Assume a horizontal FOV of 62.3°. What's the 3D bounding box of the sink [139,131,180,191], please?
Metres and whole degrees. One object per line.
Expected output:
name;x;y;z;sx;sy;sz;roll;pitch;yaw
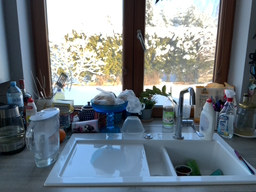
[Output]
sink;0.140;0.370;1.110;0.120;0.190;0.500;0;14;-2

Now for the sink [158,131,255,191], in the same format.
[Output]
sink;0.380;0.370;1.110;0.360;0.190;0.500;0;14;-2
